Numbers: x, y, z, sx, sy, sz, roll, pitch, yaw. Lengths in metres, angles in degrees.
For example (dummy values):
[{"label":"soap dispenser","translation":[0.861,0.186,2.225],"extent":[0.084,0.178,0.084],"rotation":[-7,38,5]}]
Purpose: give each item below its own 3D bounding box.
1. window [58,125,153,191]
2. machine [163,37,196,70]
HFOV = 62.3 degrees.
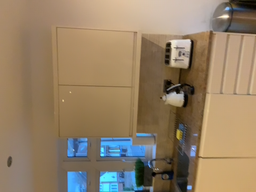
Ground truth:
[{"label":"window","translation":[-0.290,0.870,2.720],"extent":[0.050,1.160,1.030],"rotation":[-116,29,-76]},{"label":"machine","translation":[0.510,-0.430,2.140],"extent":[0.290,0.210,0.290],"rotation":[-118,30,-76]}]
